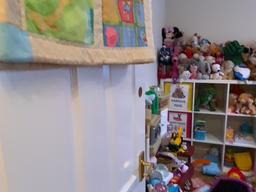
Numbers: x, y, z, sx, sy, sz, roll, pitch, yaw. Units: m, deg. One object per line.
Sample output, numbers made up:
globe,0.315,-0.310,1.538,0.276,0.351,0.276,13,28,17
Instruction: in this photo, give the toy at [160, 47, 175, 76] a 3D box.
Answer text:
toy,0.480,-0.420,2.570,0.140,0.340,0.200,3,11,18

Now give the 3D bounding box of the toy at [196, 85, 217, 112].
toy,0.950,0.020,2.600,0.210,0.260,0.300,3,11,17

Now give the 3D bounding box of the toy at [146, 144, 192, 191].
toy,0.320,0.510,1.550,0.270,0.100,0.490,3,11,17

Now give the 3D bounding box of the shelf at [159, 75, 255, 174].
shelf,1.180,0.310,2.620,1.510,1.070,0.430,3,11,18
